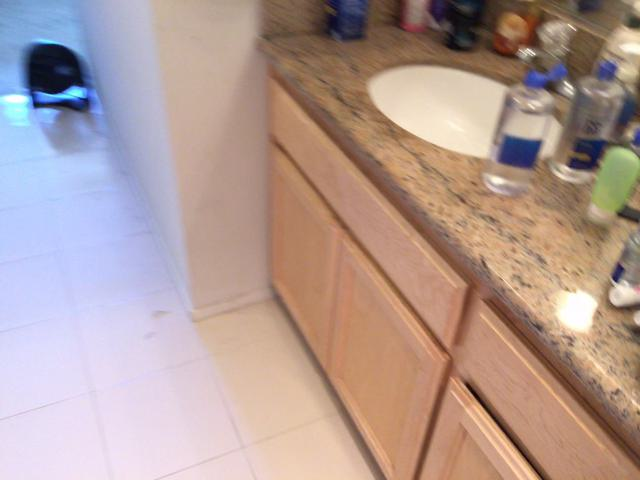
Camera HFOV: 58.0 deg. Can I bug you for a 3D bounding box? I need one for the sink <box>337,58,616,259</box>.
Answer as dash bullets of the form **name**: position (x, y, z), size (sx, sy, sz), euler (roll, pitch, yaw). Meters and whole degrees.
- **sink**: position (0.280, -0.190, 1.160), size (0.340, 0.160, 0.420), euler (-13, 42, -20)
